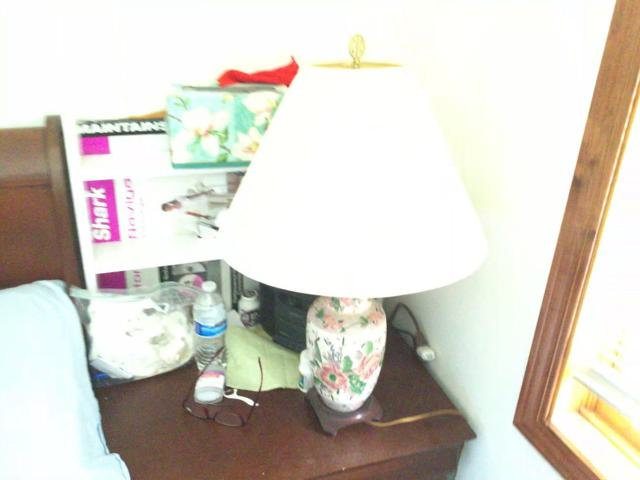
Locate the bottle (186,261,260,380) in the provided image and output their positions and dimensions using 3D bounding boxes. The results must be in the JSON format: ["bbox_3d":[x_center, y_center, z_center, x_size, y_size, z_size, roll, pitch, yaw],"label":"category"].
[{"bbox_3d":[-0.200,0.160,1.180,0.120,0.180,0.140,-5,25,-20],"label":"bottle"}]

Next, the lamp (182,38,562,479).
[{"bbox_3d":[0.010,0.030,0.960,0.380,0.640,0.480,-5,25,-20],"label":"lamp"}]

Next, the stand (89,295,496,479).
[{"bbox_3d":[-0.090,0.580,1.220,0.670,0.760,0.380,-5,25,-20],"label":"stand"}]
